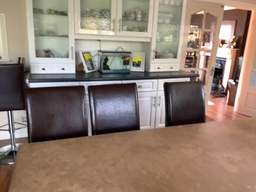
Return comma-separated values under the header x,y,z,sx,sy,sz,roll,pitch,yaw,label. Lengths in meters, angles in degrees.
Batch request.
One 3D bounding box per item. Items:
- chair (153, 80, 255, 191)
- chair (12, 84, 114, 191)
x,y,z,sx,sy,sz,roll,pitch,yaw,label
0.570,0.420,1.720,0.450,1.000,0.550,-4,17,-21,chair
-0.400,0.480,1.360,0.450,1.000,0.550,-4,17,-21,chair
